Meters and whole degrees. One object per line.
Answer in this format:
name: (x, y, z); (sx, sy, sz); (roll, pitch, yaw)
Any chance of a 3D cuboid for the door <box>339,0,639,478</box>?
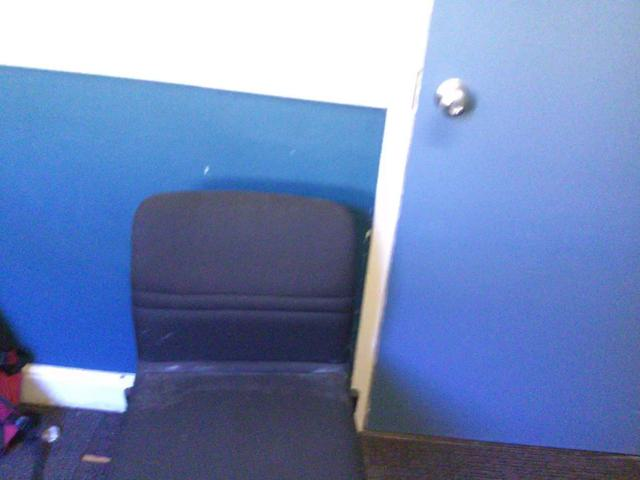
door: (0.540, -0.060, 1.300); (0.870, 1.520, 0.100); (5, 28, 0)
